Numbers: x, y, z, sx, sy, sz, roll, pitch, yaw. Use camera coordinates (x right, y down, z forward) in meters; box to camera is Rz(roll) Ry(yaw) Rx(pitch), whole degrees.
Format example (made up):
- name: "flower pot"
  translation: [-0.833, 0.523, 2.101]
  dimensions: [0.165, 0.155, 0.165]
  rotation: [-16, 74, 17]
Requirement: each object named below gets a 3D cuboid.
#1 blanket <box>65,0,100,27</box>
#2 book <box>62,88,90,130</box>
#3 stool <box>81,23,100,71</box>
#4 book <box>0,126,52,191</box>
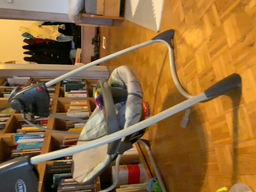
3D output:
- name: "blanket"
  translation: [-0.570, -1.240, 2.610]
  dimensions: [0.800, 0.370, 0.660]
  rotation: [-122, 34, -64]
- name: "book"
  translation: [-0.680, 0.140, 2.770]
  dimensions: [0.700, 0.300, 0.290]
  rotation: [-123, 36, -65]
- name: "stool"
  translation: [-0.920, -1.170, 5.110]
  dimensions: [0.350, 0.390, 1.080]
  rotation: [-123, 36, -65]
- name: "book"
  translation: [-0.850, 0.520, 1.810]
  dimensions: [0.490, 0.330, 0.300]
  rotation: [-119, 32, -62]
